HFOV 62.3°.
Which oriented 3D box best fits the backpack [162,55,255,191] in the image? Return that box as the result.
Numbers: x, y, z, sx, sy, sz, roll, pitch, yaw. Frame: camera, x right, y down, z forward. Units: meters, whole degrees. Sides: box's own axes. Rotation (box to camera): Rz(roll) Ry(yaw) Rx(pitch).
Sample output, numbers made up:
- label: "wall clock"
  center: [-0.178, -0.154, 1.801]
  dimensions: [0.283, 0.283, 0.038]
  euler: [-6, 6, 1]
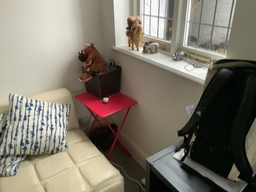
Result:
- label: "backpack"
  center: [0.400, 0.100, 0.940]
  dimensions: [0.280, 0.430, 0.390]
  euler: [-19, 33, -30]
